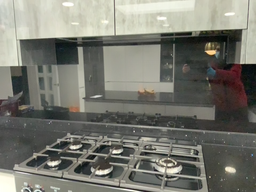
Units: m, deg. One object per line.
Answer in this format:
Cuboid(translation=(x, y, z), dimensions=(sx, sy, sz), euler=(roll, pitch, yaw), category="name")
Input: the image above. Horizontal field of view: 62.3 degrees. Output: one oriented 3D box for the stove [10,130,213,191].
Cuboid(translation=(-0.050, 0.400, 1.200), dimensions=(0.920, 0.180, 0.590), euler=(2, 10, 15), category="stove")
